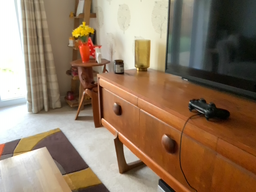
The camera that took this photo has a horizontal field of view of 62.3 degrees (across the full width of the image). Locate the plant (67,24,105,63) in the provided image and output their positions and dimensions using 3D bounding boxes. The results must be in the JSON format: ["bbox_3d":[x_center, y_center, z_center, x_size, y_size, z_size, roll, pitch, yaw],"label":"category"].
[{"bbox_3d":[-0.420,-0.540,2.130,0.280,0.340,0.230,-14,25,-34],"label":"plant"}]

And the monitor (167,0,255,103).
[{"bbox_3d":[0.540,-0.270,1.000,0.060,0.550,0.880,-13,25,-33],"label":"monitor"}]

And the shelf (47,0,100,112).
[{"bbox_3d":[-0.650,-0.580,2.570,0.410,1.430,0.410,-13,24,-31],"label":"shelf"}]
